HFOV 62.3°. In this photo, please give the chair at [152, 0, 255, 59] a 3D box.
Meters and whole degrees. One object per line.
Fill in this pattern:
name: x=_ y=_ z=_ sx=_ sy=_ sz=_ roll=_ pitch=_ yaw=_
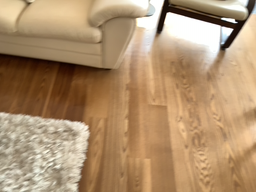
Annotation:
chair: x=0.700 y=-1.000 z=1.740 sx=0.670 sy=0.970 sz=0.770 roll=17 pitch=54 yaw=4
